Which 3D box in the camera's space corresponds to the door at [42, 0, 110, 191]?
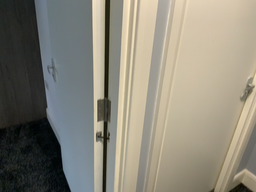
[{"bbox_3d":[-0.310,-0.070,1.160,0.060,2.000,0.740,-13,32,-30],"label":"door"}]
